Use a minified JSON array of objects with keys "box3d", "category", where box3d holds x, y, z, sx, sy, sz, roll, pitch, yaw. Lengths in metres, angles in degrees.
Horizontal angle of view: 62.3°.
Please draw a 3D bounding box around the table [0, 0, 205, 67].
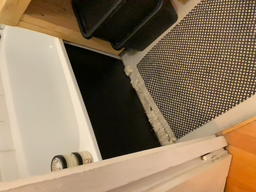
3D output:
[{"box3d":[-0.140,-0.560,1.070,0.630,0.850,0.410,-36,65,32],"category":"table"}]
